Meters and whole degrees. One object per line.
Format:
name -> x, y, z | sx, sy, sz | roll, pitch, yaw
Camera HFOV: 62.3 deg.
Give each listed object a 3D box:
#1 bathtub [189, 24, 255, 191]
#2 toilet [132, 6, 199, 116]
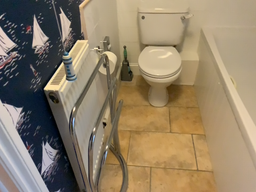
bathtub -> 0.920, 0.060, 1.510 | 0.680, 0.540, 1.660 | 1, 39, 6
toilet -> 0.300, -0.330, 1.910 | 0.440, 0.730, 0.670 | 2, 39, 6
